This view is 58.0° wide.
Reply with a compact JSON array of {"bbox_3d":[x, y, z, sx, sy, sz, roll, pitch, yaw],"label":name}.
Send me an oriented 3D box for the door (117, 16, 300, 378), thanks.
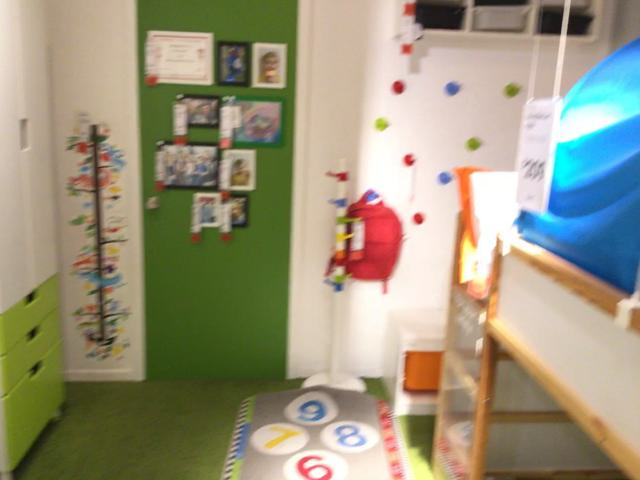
[{"bbox_3d":[-0.560,-0.160,3.040,0.860,1.860,0.140,1,14,-5],"label":"door"}]
